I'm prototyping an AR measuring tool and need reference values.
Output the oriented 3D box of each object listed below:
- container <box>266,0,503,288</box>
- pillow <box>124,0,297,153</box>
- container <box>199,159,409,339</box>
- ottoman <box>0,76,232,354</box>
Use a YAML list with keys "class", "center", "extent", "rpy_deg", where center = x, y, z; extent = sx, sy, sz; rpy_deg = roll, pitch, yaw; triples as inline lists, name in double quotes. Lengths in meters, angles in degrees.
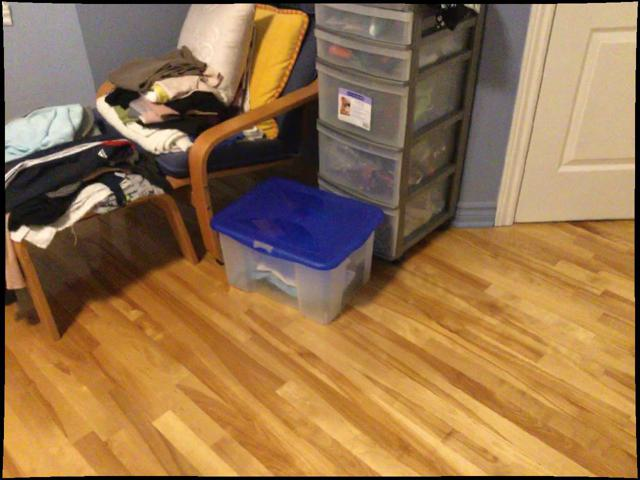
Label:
- class: "container"
  center: [0.200, -0.430, 1.860]
  extent: [0.490, 0.951, 0.480]
  rpy_deg: [28, 46, 35]
- class: "pillow"
  center: [-0.370, -0.621, 2.020]
  extent: [0.470, 0.420, 0.320]
  rpy_deg: [28, 46, 35]
- class: "container"
  center: [-0.050, 0.000, 1.880]
  extent: [0.500, 0.240, 0.430]
  rpy_deg: [28, 46, 35]
- class: "ottoman"
  center: [-0.829, -0.150, 1.960]
  extent: [0.760, 0.460, 0.670]
  rpy_deg: [28, 46, 35]
